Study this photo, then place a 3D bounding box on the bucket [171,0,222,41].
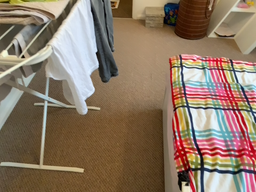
[{"bbox_3d":[0.710,-0.940,2.280,0.390,0.510,0.440,4,45,3],"label":"bucket"}]
